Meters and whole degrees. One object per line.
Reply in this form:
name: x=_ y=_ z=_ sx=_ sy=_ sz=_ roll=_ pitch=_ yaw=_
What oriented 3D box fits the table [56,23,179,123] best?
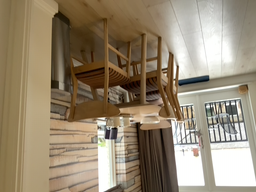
table: x=0.000 y=-0.110 z=2.800 sx=0.960 sy=0.750 sz=1.620 roll=-8 pitch=167 yaw=22
